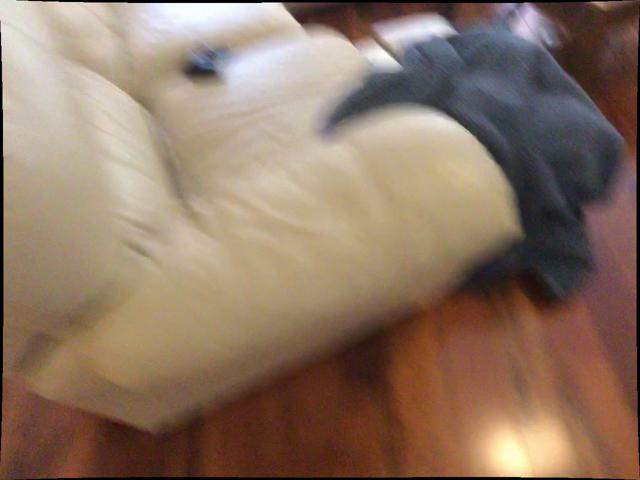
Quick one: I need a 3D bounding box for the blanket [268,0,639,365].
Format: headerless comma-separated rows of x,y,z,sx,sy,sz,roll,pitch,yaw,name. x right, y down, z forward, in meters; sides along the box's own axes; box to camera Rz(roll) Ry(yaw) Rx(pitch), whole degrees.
0.390,-0.250,1.500,0.740,0.520,0.690,-31,52,-25,blanket

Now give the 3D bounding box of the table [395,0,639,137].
0.939,-0.971,2.230,0.900,0.490,0.890,-25,50,-20,table
